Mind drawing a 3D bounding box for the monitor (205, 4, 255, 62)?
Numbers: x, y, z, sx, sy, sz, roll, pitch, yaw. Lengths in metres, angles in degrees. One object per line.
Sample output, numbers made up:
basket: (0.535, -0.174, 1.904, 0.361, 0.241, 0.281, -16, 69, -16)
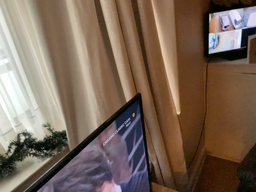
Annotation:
monitor: (0.860, -0.490, 1.630, 0.540, 0.360, 0.020, -11, 25, -3)
